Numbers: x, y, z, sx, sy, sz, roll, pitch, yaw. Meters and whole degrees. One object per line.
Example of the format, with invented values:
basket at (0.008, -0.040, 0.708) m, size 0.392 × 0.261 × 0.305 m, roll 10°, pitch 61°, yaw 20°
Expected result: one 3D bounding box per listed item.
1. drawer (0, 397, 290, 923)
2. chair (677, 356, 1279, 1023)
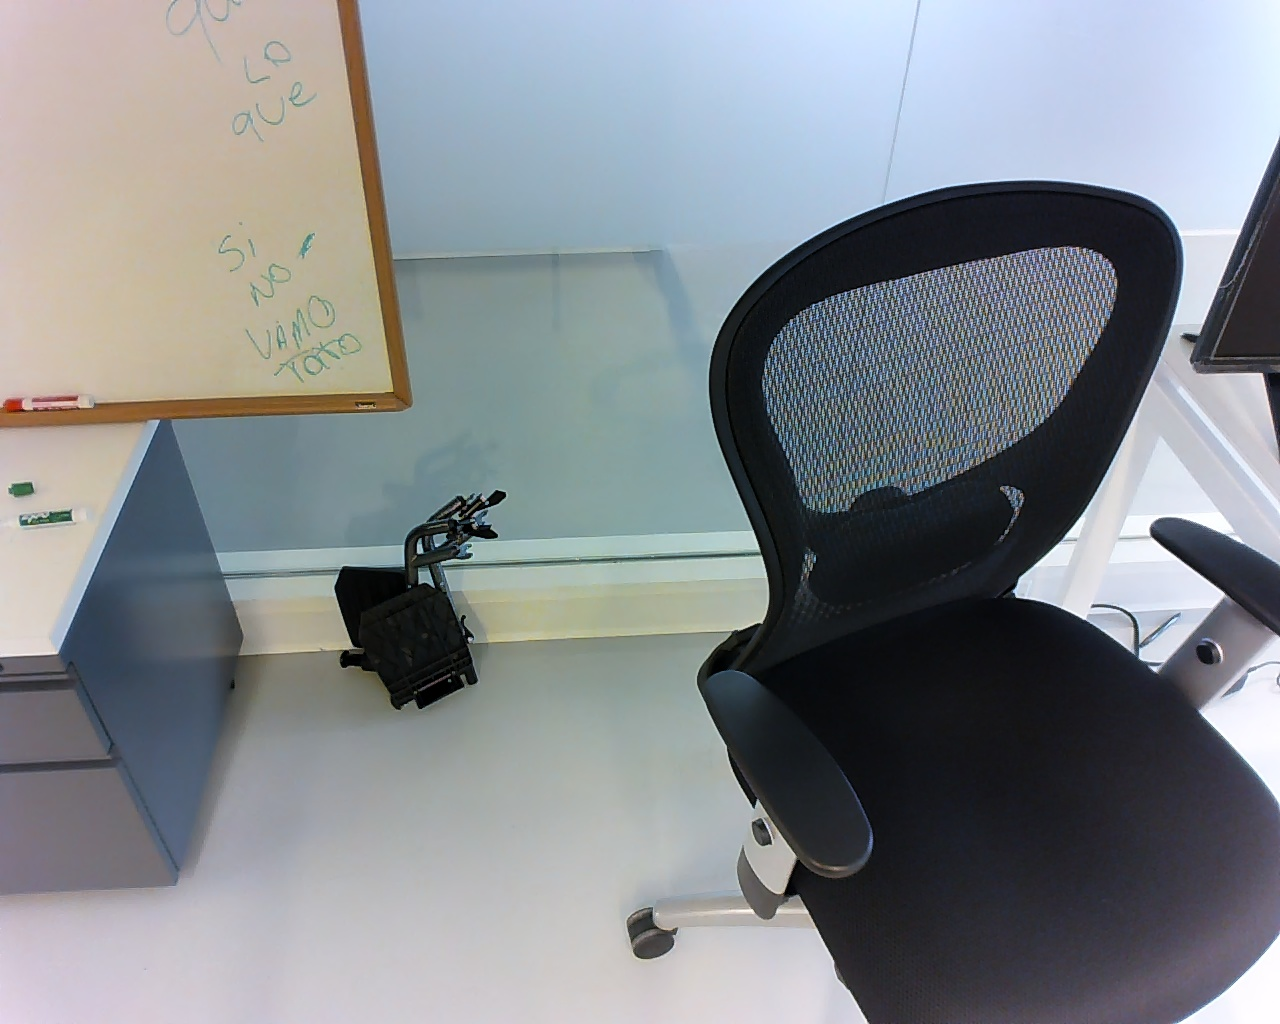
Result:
drawer at (-0.850, 0.220, 1.510) m, size 0.510 × 0.600 × 0.430 m, roll -3°, pitch 41°, yaw -4°
chair at (0.430, 0.330, 1.230) m, size 0.670 × 0.800 × 0.540 m, roll -5°, pitch 42°, yaw -6°
